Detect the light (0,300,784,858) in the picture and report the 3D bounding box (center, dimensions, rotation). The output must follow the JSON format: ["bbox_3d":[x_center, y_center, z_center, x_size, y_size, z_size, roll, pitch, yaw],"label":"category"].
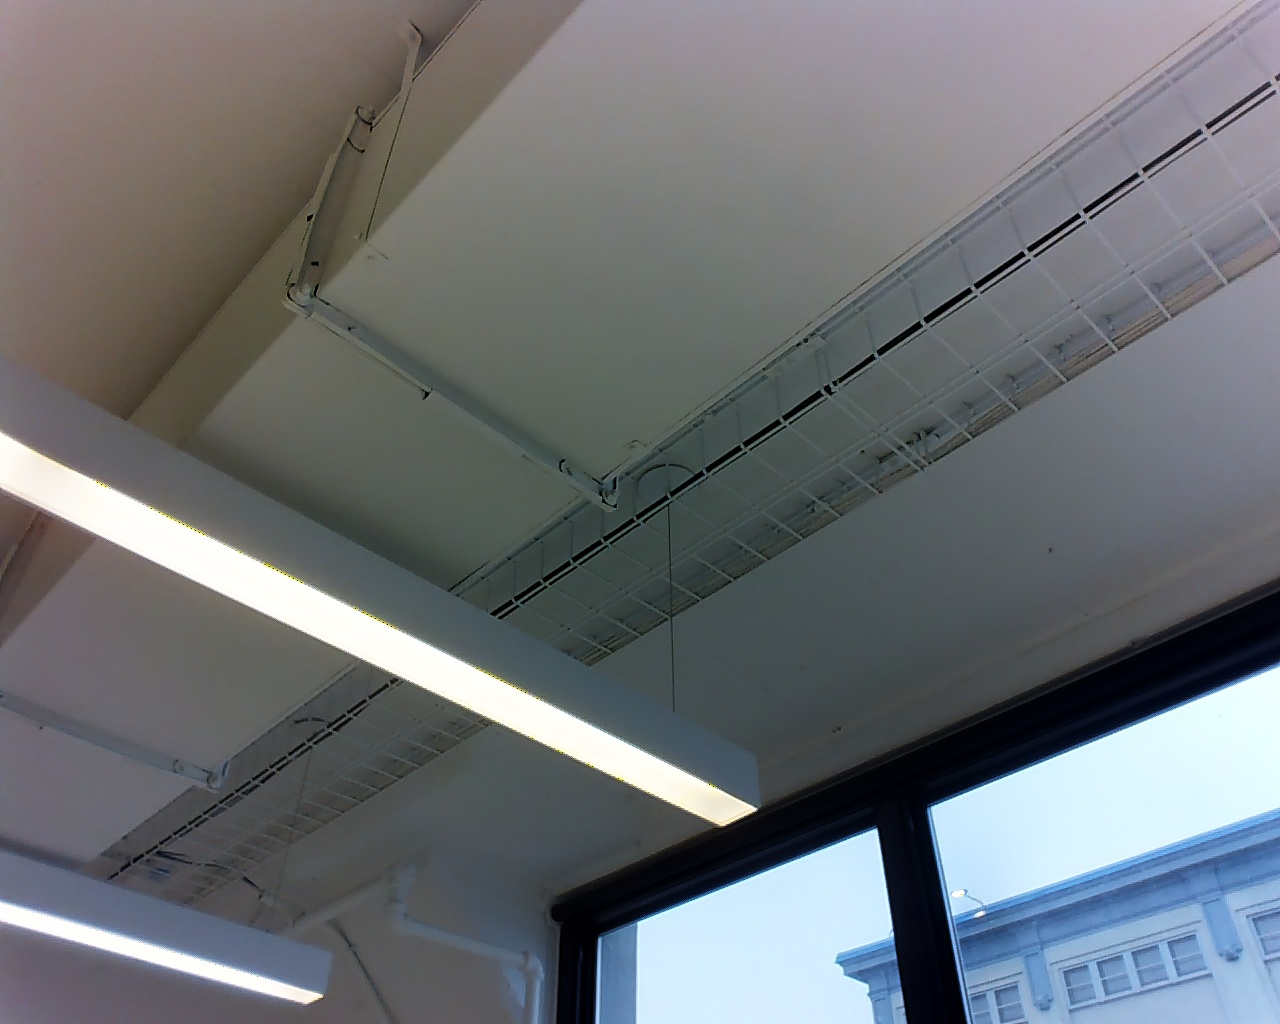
[{"bbox_3d":[-0.719,-0.070,1.330,2.499,0.180,0.190,33,-51,-30],"label":"light"}]
